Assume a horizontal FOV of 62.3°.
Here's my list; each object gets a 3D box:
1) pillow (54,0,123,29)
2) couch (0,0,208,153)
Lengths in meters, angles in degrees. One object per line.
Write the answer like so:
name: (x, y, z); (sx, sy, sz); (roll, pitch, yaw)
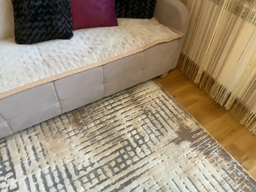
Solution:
pillow: (-0.270, -0.680, 1.500); (0.440, 0.360, 0.150); (-10, 48, -32)
couch: (-0.650, -0.460, 1.460); (2.080, 0.930, 1.060); (-22, 53, -22)
